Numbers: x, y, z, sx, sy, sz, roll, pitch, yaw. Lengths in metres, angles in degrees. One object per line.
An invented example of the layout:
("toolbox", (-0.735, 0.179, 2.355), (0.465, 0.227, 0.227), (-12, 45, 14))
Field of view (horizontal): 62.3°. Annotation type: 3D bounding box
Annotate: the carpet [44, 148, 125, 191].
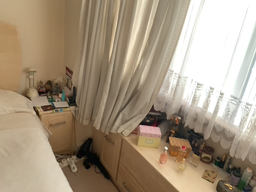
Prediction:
("carpet", (-0.360, 0.790, 1.880), (0.510, 0.020, 0.890), (-7, 27, -34))
